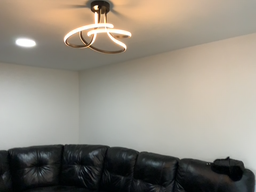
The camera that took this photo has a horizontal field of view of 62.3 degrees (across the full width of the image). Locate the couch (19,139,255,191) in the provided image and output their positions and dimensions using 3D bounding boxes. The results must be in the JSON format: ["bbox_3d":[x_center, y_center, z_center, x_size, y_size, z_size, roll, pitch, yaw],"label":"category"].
[{"bbox_3d":[-0.220,1.220,2.660,3.120,0.950,1.020,-3,-4,42],"label":"couch"}]
